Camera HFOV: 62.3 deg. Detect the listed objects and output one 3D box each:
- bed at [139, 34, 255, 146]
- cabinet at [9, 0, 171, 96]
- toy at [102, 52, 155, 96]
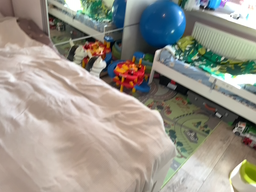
[{"bbox_3d":[1.150,-0.140,2.600,1.850,0.450,0.880,33,42,28],"label":"bed"},{"bbox_3d":[-0.240,-1.460,2.430,0.680,2.340,2.010,34,43,28],"label":"cabinet"},{"bbox_3d":[0.000,-0.300,2.720,0.490,0.260,0.430,34,43,29],"label":"toy"}]
